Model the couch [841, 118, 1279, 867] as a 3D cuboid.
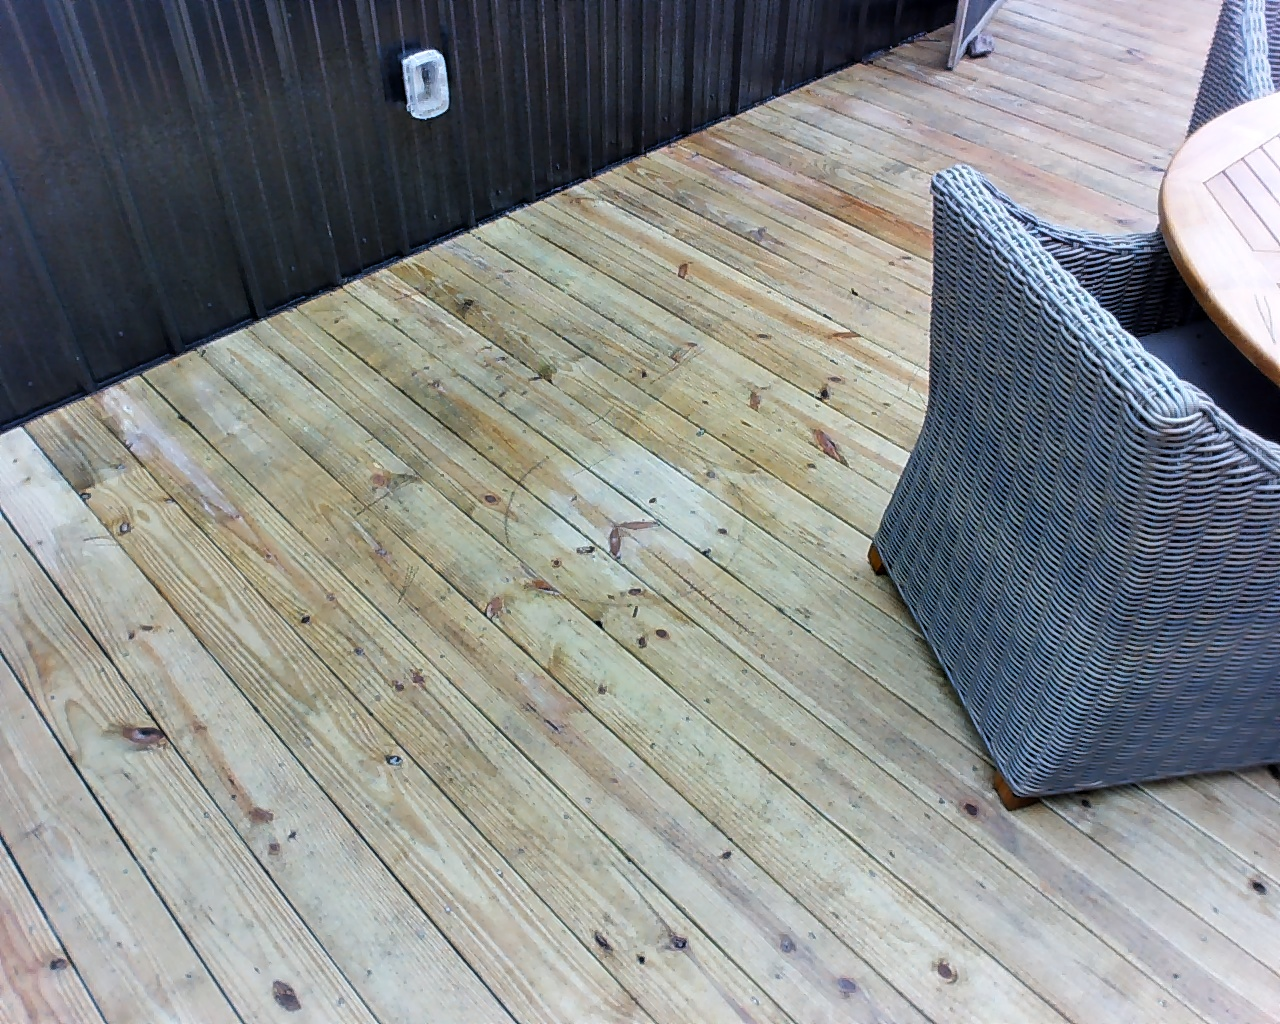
[{"bbox_3d":[0.900,-0.050,1.730,0.840,0.860,0.720,-8,44,-9],"label":"couch"}]
